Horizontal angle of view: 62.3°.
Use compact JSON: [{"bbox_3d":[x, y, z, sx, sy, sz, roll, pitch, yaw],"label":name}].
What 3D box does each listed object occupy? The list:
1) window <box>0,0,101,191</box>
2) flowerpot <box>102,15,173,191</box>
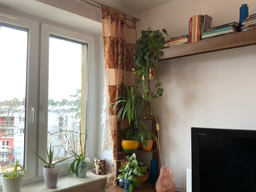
[{"bbox_3d":[-0.840,0.100,1.770,0.120,1.620,1.480,-1,-3,42],"label":"window"},{"bbox_3d":[0.090,0.120,1.890,0.440,1.450,0.420,-1,-3,43],"label":"flowerpot"}]
